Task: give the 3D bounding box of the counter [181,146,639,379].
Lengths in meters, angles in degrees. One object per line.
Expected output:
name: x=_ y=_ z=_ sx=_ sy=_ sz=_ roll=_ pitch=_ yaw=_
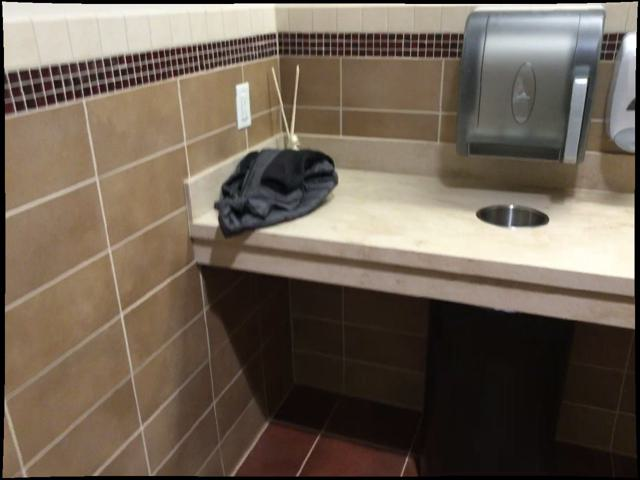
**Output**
counter: x=0.669 y=0.040 z=1.360 sx=1.928 sy=0.240 sz=0.590 roll=8 pitch=26 yaw=21
